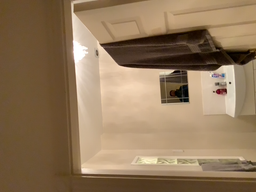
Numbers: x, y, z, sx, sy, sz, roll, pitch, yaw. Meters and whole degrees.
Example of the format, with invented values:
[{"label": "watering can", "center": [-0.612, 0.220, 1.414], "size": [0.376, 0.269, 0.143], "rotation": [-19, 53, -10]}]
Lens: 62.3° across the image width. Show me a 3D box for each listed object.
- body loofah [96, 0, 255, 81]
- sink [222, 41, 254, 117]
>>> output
[{"label": "body loofah", "center": [0.420, -0.390, 1.530], "size": [0.380, 1.230, 0.410], "rotation": [28, -121, -75]}, {"label": "sink", "center": [1.370, -0.200, 2.680], "size": [0.500, 0.190, 0.870], "rotation": [-11, -83, -77]}]
